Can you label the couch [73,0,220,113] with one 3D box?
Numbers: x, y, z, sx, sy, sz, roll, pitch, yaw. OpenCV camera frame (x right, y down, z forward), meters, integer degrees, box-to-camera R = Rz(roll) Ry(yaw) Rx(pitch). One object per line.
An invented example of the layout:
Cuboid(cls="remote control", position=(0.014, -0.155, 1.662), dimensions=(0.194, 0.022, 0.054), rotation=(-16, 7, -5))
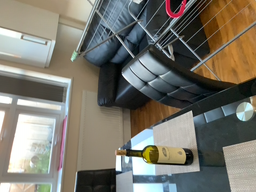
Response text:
Cuboid(cls="couch", position=(0.040, -0.570, 2.440), dimensions=(1.490, 0.900, 0.950), rotation=(-42, 43, 52))
